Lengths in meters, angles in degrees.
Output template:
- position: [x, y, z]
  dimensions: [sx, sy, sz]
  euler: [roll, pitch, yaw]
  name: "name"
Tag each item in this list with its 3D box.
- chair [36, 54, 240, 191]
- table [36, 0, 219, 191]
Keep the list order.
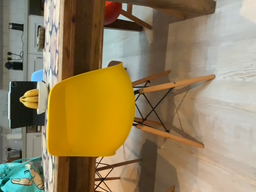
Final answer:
- position: [0.010, 0.060, 1.030]
  dimensions: [0.520, 0.800, 0.430]
  euler: [23, 110, 61]
  name: "chair"
- position: [-0.160, 0.290, 1.410]
  dimensions: [0.940, 0.760, 1.850]
  euler: [19, 106, 62]
  name: "table"
